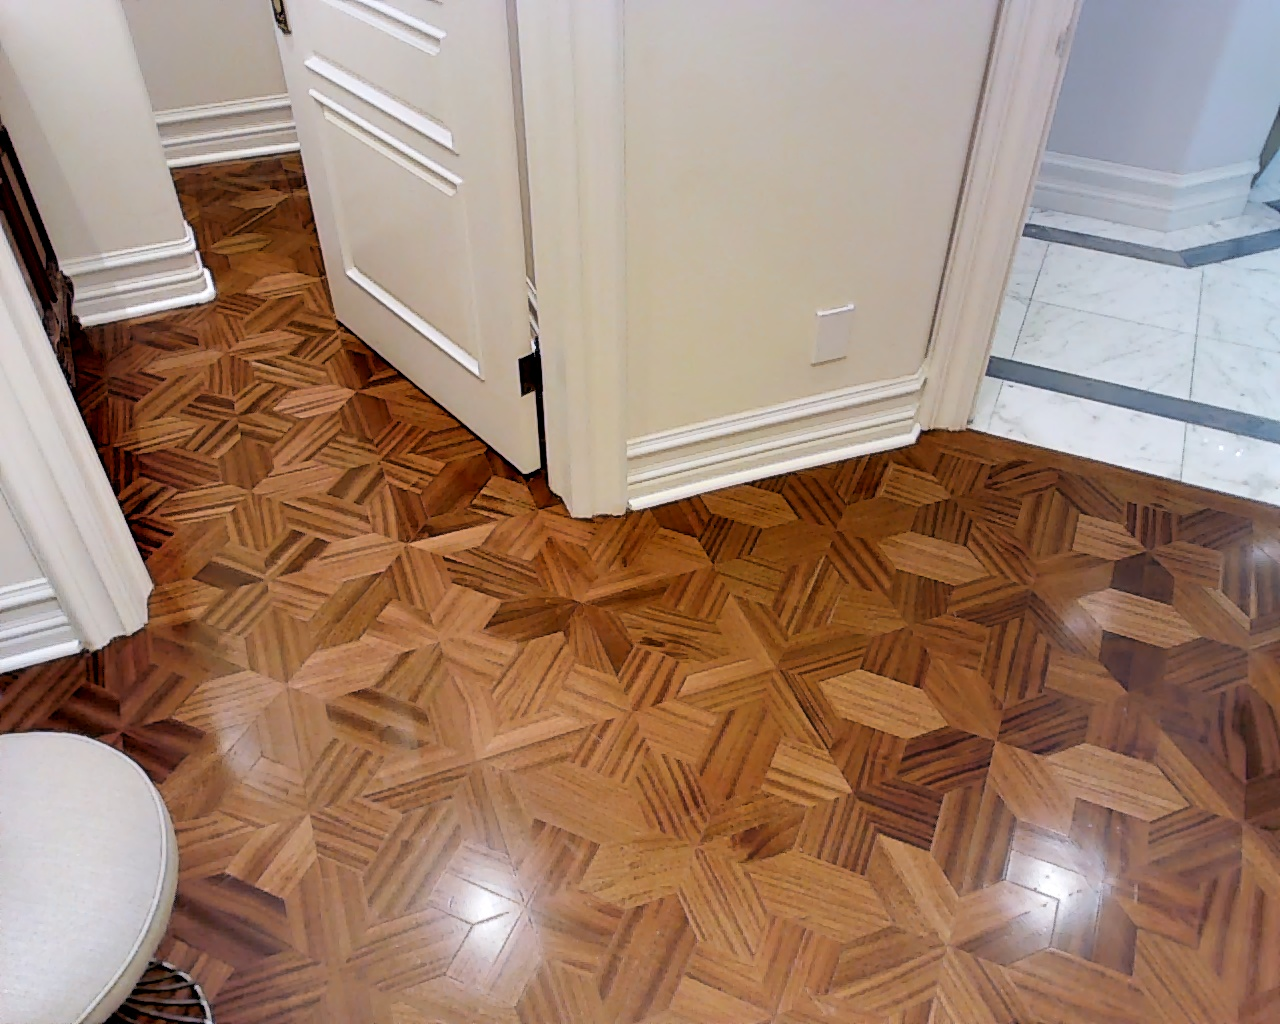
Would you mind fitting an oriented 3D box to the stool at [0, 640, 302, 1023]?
[{"bbox_3d":[-0.760,0.610,1.420,0.470,0.570,0.500,-21,46,-21],"label":"stool"}]

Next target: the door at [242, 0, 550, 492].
[{"bbox_3d":[-0.580,-1.220,2.050,0.100,2.400,1.020,-29,50,-28],"label":"door"}]
